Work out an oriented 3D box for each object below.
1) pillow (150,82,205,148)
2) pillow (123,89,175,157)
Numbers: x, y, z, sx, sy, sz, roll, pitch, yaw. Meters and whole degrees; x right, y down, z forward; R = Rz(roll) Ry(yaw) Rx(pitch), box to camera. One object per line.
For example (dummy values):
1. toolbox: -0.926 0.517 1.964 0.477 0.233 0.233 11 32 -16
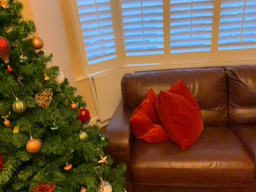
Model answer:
1. pillow: 0.390 0.140 1.660 0.190 0.360 0.350 33 35 14
2. pillow: 0.180 0.210 1.720 0.200 0.350 0.380 33 36 -5
